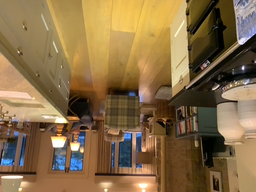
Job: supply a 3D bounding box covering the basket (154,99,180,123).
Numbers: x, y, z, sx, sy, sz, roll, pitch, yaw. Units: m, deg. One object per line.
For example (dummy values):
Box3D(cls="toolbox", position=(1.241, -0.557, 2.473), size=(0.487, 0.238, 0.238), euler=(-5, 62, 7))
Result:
Box3D(cls="basket", position=(1.040, 0.420, 5.760), size=(0.540, 0.530, 0.580), euler=(4, 164, -9))
